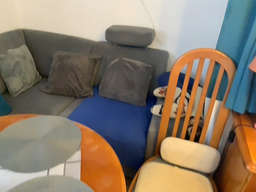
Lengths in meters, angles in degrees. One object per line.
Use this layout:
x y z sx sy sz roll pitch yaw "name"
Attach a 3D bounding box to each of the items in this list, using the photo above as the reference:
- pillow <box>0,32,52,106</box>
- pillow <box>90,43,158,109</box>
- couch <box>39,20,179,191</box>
-0.950 -0.240 1.880 0.190 0.430 0.460 14 51 14 "pillow"
-0.020 -0.170 1.870 0.490 0.420 0.270 13 55 13 "pillow"
-0.070 0.000 1.780 0.750 0.980 0.920 11 31 11 "couch"
